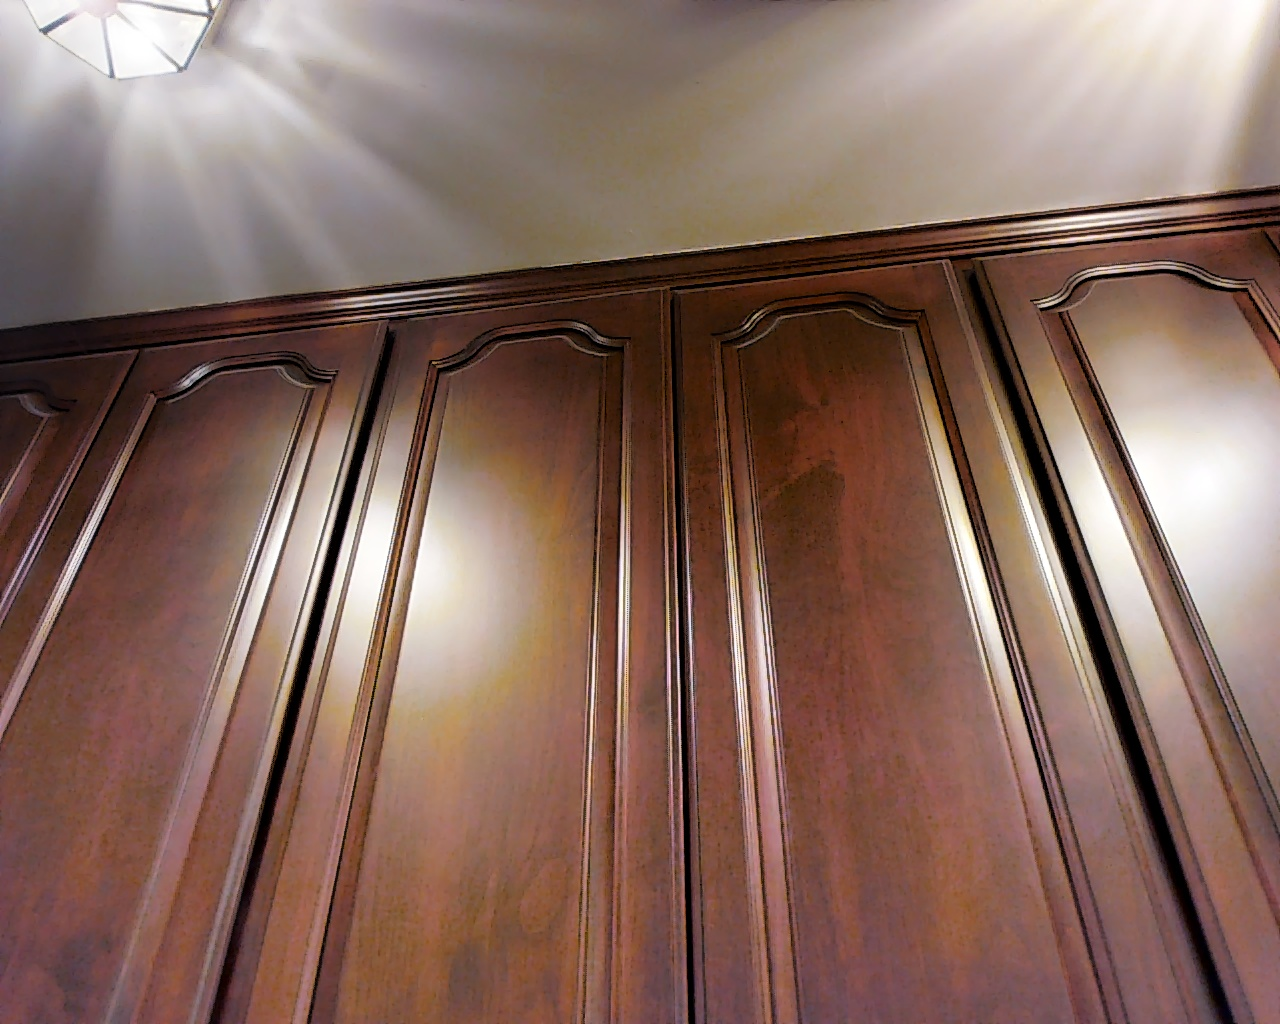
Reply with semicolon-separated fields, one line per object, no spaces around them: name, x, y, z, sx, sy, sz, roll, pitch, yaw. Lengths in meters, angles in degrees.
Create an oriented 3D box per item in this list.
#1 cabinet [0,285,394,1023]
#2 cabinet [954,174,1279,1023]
cabinet;-0.740;0.150;1.200;0.770;1.140;0.030;-5;-42;6
cabinet;0.760;0.010;1.050;0.660;1.170;0.030;-5;-42;6
